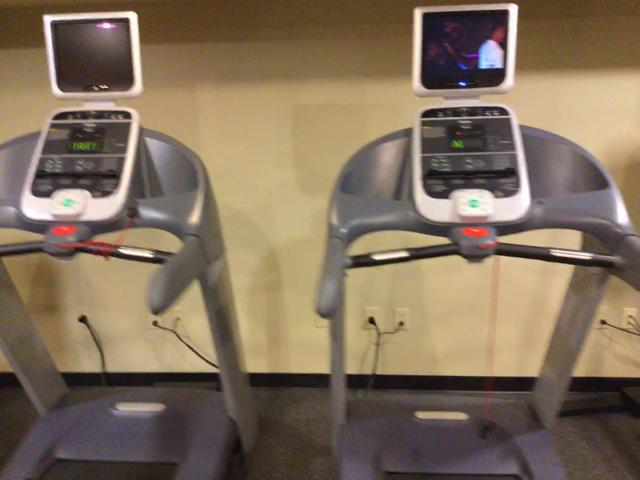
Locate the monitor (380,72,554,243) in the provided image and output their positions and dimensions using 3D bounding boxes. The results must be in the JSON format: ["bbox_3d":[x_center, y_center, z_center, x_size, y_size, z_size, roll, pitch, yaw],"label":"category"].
[{"bbox_3d":[0.450,-0.260,1.830,0.320,0.410,0.140,42,16,-7],"label":"monitor"}]
